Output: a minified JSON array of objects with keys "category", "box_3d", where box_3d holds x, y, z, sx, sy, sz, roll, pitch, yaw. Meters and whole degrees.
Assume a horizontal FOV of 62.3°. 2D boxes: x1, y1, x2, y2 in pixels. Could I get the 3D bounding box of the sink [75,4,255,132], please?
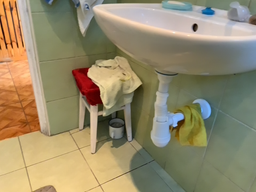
[{"category":"sink","box_3d":[0.130,-0.160,0.640,0.410,0.160,0.520,-13,33,-29]}]
